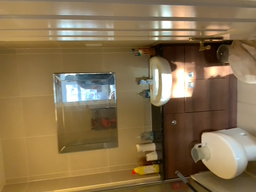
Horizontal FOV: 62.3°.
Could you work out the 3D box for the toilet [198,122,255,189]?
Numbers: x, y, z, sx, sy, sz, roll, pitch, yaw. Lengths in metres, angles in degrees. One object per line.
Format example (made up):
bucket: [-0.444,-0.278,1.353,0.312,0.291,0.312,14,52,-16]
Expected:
toilet: [0.990,0.520,1.990,0.500,0.440,0.400,-151,59,-77]

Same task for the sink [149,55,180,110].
sink: [0.350,-0.140,2.100,0.390,0.170,0.490,-151,59,-77]
